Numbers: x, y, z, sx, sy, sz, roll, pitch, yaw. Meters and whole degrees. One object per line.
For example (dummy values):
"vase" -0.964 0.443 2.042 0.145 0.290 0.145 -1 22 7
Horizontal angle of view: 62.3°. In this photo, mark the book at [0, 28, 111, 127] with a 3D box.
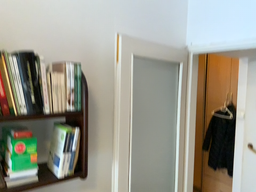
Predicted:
"book" -0.360 -0.070 0.860 0.480 0.300 0.310 -2 5 -36
